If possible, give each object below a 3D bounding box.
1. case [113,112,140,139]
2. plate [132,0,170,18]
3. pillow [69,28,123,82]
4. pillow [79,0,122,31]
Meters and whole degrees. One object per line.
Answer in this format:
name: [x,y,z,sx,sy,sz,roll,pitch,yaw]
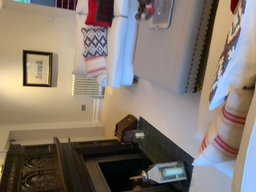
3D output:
case: [-0.030,0.490,3.600,0.370,0.320,0.370,-165,77,-65]
plate: [0.240,-0.990,2.240,0.330,0.250,0.260,-148,61,-62]
pillow: [-0.550,-0.700,3.610,0.800,0.430,0.270,-47,22,-4]
pillow: [-0.420,-1.370,3.290,0.560,0.410,0.360,-63,24,4]
